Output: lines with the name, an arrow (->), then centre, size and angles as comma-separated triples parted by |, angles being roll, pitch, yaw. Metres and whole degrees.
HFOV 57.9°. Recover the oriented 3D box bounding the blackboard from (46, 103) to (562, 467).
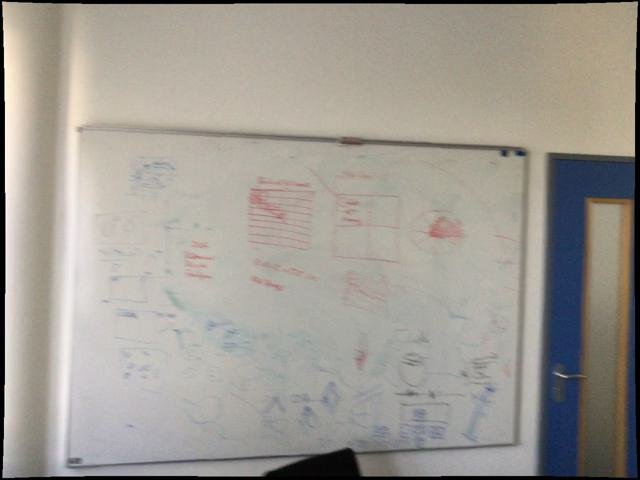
blackboard -> -0.040, 0.210, 2.500 | 2.138, 1.461, 0.150 | 1, 3, -6
